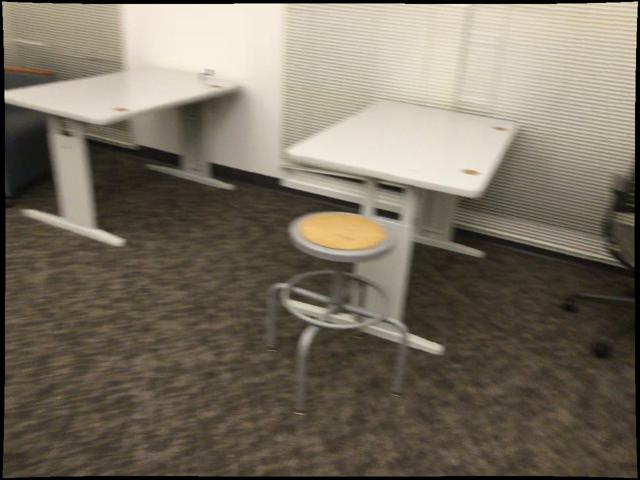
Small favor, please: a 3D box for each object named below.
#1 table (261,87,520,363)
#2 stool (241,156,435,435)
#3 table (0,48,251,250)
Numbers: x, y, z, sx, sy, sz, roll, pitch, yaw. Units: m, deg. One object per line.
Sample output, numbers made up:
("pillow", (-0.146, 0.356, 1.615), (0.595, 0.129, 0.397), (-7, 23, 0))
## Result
("table", (0.390, -0.190, 2.780), (0.819, 0.751, 1.260), (14, 28, 19))
("stool", (0.060, 0.170, 2.040), (0.500, 0.741, 0.490), (13, 28, 16))
("table", (-1.169, -0.631, 3.410), (0.999, 0.701, 1.290), (14, 28, 19))
